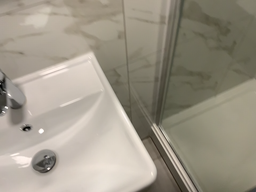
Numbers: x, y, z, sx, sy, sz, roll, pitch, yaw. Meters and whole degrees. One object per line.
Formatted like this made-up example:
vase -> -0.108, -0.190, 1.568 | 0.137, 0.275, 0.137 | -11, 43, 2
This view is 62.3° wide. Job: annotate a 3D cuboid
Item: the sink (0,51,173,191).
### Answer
sink -> -0.230, 0.160, 0.570 | 0.520, 0.160, 0.430 | -23, 58, -13
